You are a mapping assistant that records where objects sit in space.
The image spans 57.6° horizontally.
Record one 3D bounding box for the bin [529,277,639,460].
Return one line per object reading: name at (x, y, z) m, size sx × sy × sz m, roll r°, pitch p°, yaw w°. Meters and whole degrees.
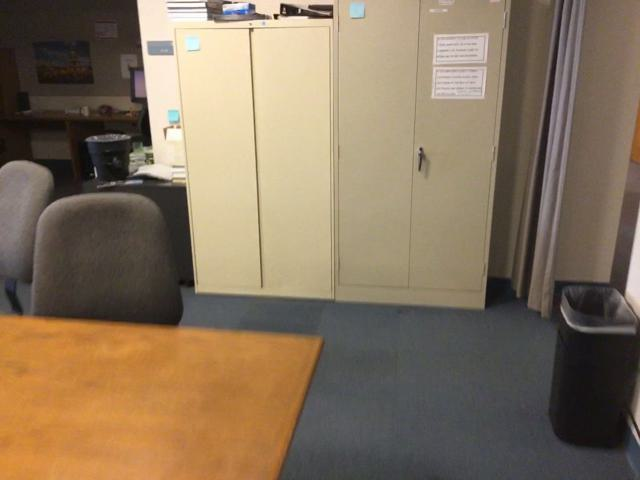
bin at (1.040, 0.480, 2.220) m, size 0.300 × 0.560 × 0.320 m, roll 8°, pitch 21°, yaw 6°
